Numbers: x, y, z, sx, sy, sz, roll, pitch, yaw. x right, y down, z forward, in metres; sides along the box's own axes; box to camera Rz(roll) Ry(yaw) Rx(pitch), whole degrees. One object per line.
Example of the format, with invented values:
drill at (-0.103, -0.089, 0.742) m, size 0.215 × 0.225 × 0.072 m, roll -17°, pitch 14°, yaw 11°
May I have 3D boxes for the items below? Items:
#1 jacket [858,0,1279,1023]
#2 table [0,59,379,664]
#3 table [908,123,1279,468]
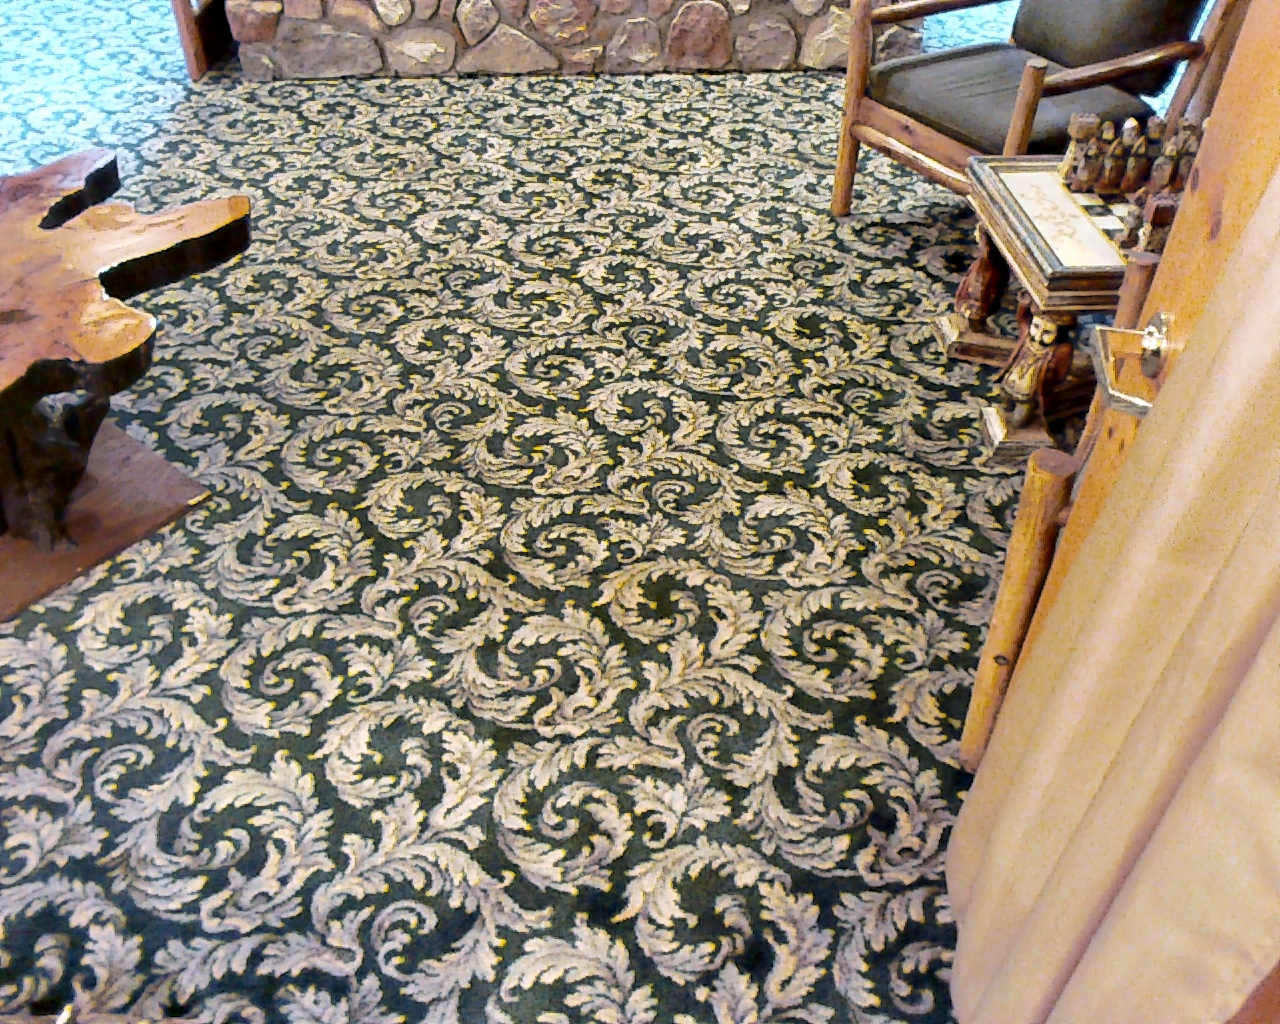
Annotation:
jacket at (0.370, 0.060, 0.800) m, size 0.190 × 1.400 × 0.460 m, roll 4°, pitch 41°, yaw 4°
table at (-1.490, -0.380, 2.350) m, size 1.350 × 0.530 × 1.520 m, roll -18°, pitch 45°, yaw -20°
table at (1.240, -0.550, 2.640) m, size 0.910 × 0.520 × 0.700 m, roll -3°, pitch 41°, yaw -4°
